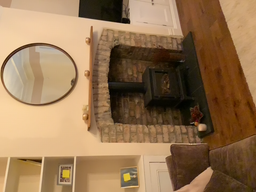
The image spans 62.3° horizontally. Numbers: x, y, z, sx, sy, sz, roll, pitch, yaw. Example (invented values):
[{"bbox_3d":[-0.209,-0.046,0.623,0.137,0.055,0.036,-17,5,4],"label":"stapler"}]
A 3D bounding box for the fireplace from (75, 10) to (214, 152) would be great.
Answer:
[{"bbox_3d":[0.110,-0.160,2.770,0.650,1.450,1.630,120,151,-59],"label":"fireplace"}]
